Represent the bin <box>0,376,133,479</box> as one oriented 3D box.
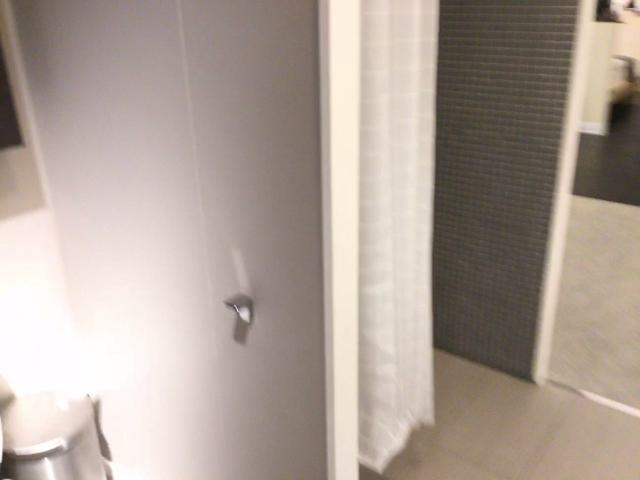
[{"bbox_3d":[-0.690,0.640,1.540,0.250,0.410,0.260,12,27,36],"label":"bin"}]
